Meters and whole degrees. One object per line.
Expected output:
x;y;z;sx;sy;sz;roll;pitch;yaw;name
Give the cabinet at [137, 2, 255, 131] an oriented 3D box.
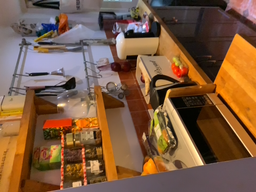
0.700;-0.360;1.690;1.260;0.940;0.310;-108;19;-46;cabinet
